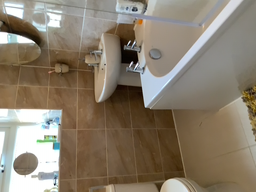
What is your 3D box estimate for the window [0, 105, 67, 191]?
[{"bbox_3d":[-1.090,0.670,1.840,0.420,1.040,1.100,124,144,-59],"label":"window"}]
